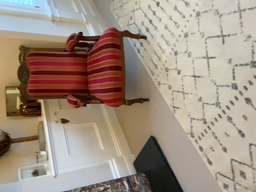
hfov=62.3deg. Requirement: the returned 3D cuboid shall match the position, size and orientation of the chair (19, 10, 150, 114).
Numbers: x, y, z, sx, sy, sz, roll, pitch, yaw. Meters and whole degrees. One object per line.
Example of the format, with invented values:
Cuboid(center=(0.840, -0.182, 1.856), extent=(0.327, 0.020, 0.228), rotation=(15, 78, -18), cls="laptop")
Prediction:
Cuboid(center=(-0.450, -0.240, 1.990), extent=(0.880, 0.950, 0.670), rotation=(1, 93, 60), cls="chair")
